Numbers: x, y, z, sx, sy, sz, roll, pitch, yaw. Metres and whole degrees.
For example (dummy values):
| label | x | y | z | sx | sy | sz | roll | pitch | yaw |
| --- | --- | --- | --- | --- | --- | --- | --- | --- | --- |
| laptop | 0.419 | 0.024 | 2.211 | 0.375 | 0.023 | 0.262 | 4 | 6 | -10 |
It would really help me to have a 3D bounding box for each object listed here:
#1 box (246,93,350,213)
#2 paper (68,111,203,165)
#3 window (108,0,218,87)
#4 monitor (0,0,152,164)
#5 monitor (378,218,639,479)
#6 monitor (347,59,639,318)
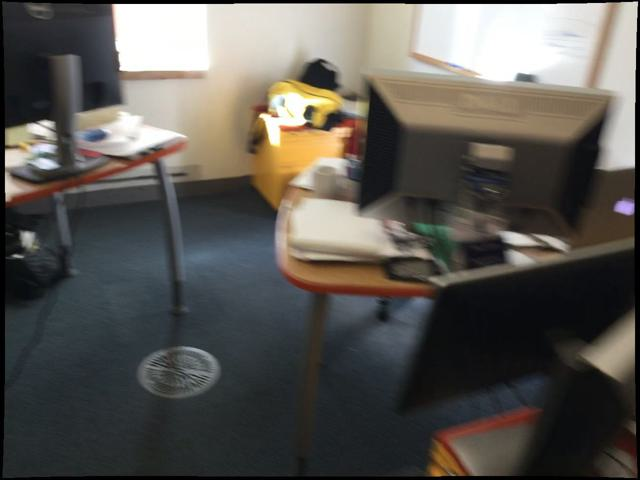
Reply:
| label | x | y | z | sx | sy | sz | roll | pitch | yaw |
| --- | --- | --- | --- | --- | --- | --- | --- | --- | --- |
| box | -0.150 | -0.531 | 3.420 | 0.420 | 0.550 | 0.460 | -8 | 31 | -25 |
| paper | -0.639 | -0.370 | 2.050 | 0.320 | 0.040 | 0.340 | 14 | 29 | 14 |
| window | -0.879 | -1.211 | 3.210 | 0.480 | 0.580 | 0.530 | -8 | 31 | -25 |
| monitor | -0.799 | -0.511 | 1.660 | 0.520 | 0.440 | 0.410 | -8 | 31 | -25 |
| monitor | 0.430 | 0.200 | 1.100 | 0.580 | 0.380 | 0.180 | -8 | 31 | -26 |
| monitor | 0.370 | -0.120 | 1.370 | 0.539 | 0.500 | 0.200 | 9 | 28 | 5 |
